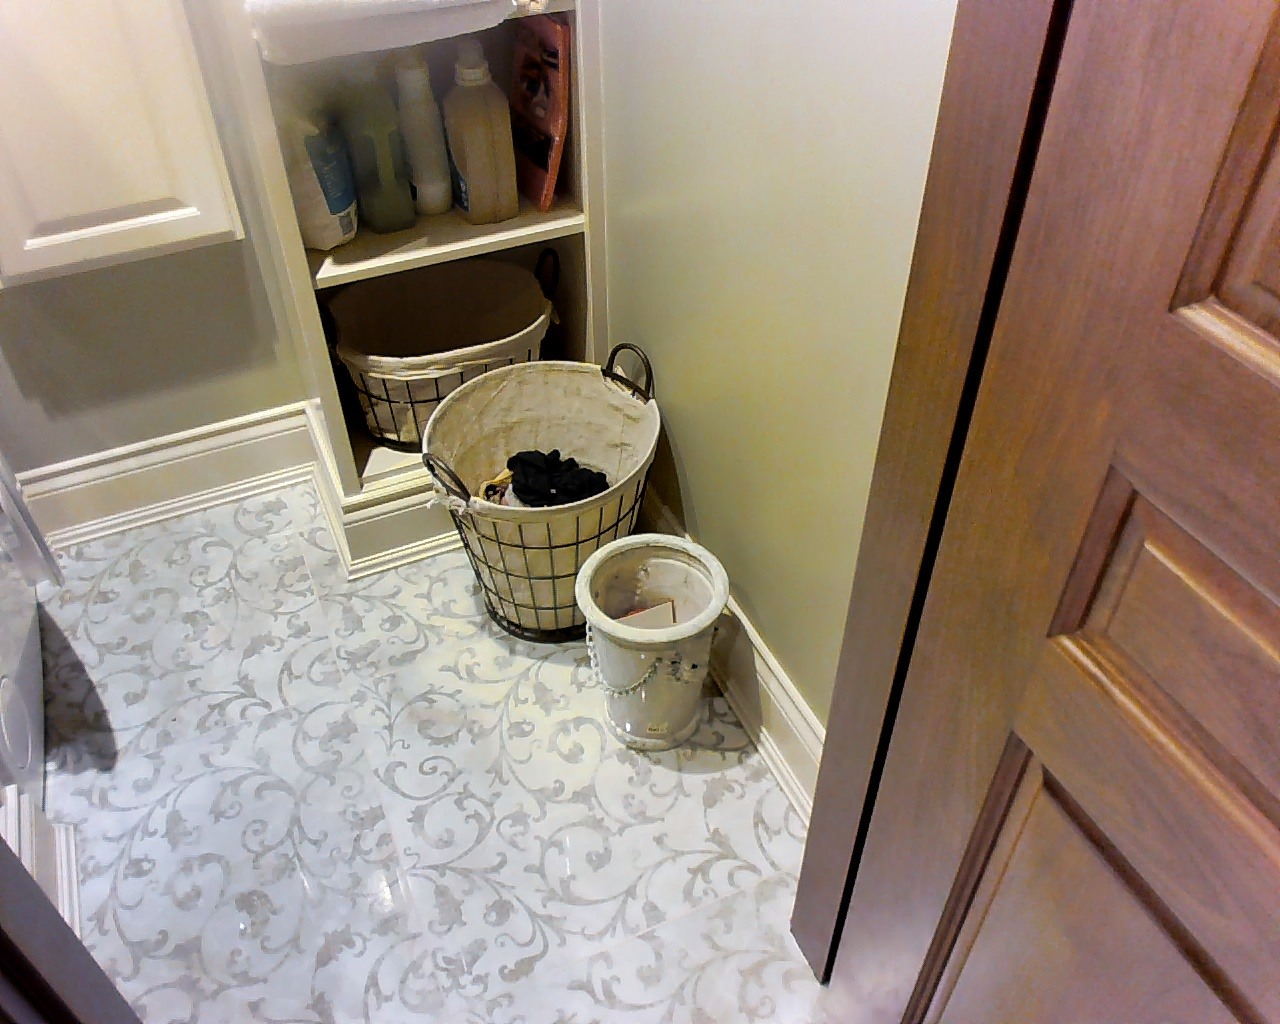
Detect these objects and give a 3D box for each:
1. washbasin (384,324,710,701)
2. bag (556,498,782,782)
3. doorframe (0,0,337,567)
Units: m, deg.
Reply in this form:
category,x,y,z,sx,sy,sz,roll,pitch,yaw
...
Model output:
category,x,y,z,sx,sy,sz,roll,pitch,yaw
washbasin,-0.160,-0.010,1.860,0.410,0.400,0.400,-18,45,-18
bag,0.040,0.200,1.680,0.260,0.310,0.230,-18,45,-18
doorframe,-0.860,-0.670,1.550,0.450,1.810,0.140,-18,45,-18
